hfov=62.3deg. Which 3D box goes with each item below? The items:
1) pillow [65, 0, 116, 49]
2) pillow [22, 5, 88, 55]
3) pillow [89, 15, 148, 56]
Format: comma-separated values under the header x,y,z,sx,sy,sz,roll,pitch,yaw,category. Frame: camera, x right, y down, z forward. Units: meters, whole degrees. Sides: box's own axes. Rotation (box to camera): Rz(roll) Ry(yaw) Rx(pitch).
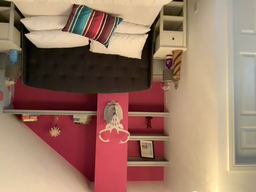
x,y,z,sx,sy,sz,roll,pitch,yaw,category
-0.400,-0.810,2.380,0.490,0.380,0.240,-27,-131,-32,pillow
-0.840,-0.790,2.580,0.640,0.480,0.290,2,-137,-3,pillow
-0.130,-0.770,2.710,0.690,0.430,0.240,-2,-140,-7,pillow
